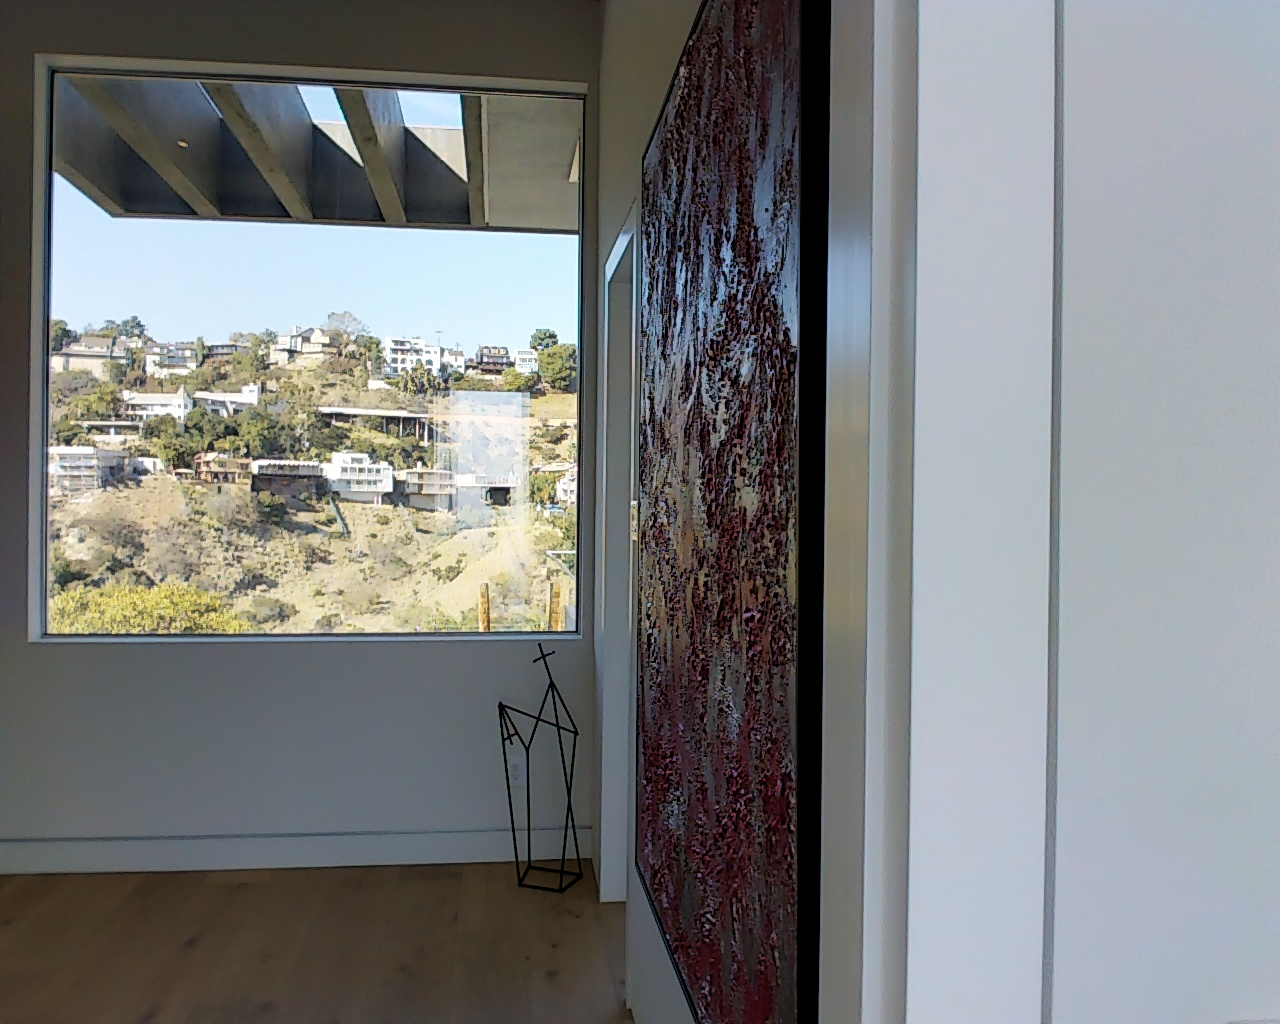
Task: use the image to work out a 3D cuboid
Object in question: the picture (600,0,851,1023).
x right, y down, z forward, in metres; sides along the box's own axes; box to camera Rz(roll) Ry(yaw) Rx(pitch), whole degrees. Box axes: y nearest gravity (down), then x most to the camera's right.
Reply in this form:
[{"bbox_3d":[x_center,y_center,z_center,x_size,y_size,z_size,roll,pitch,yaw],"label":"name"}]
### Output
[{"bbox_3d":[0.080,0.010,2.090,0.080,1.980,1.630,2,0,-8],"label":"picture"}]
